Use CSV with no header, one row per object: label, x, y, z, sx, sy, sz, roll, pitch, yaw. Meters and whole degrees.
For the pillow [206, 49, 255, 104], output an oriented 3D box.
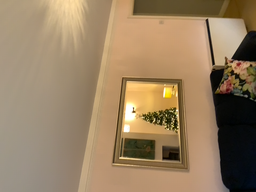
pillow,1.280,-0.230,2.520,0.440,0.490,0.200,-59,-23,14
